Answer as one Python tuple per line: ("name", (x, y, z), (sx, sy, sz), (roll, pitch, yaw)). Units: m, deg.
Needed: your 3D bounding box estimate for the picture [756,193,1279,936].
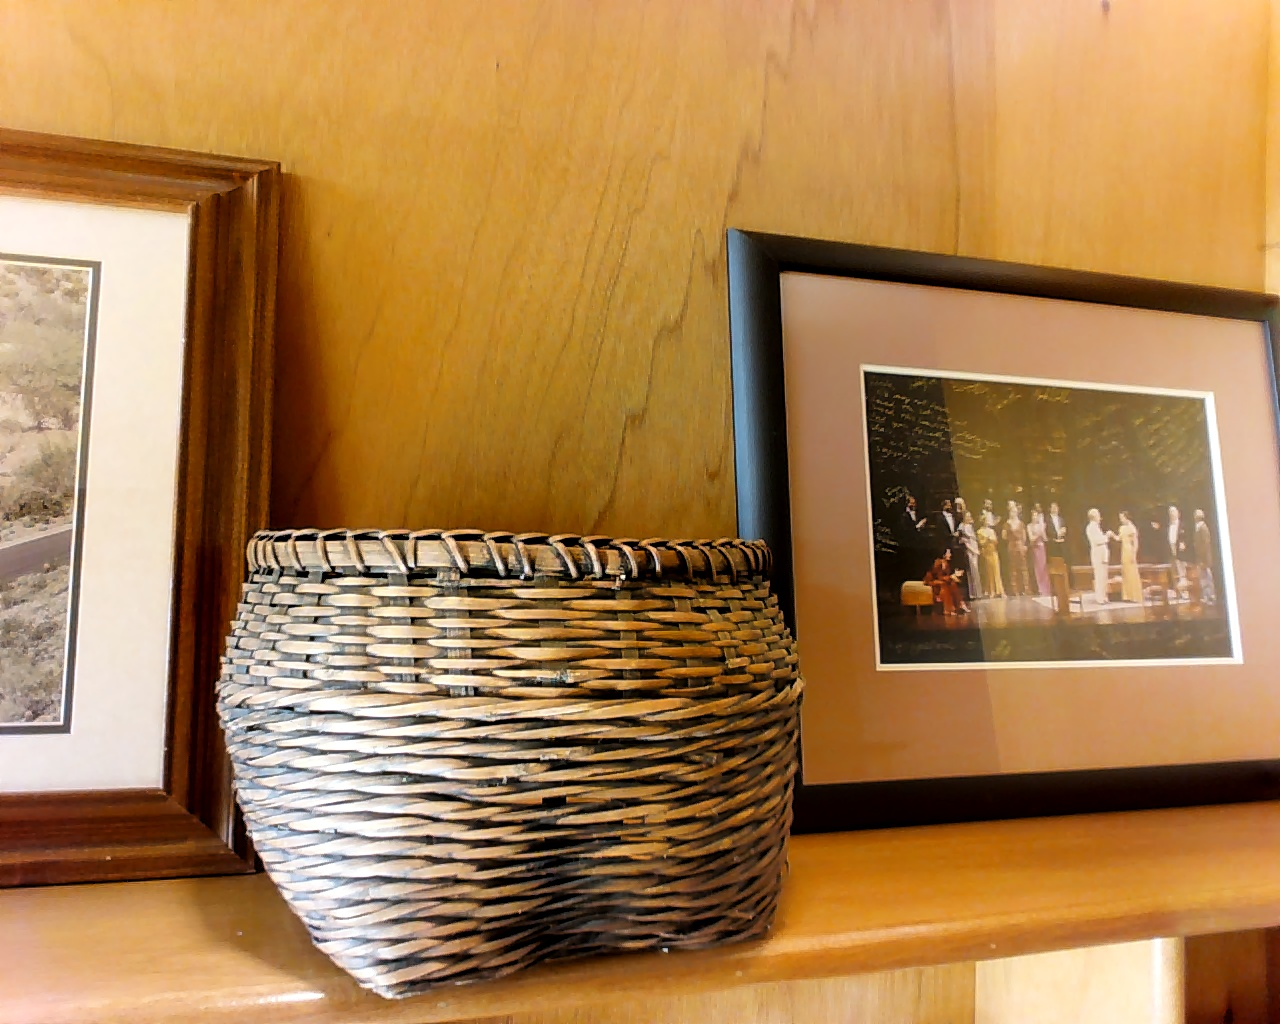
("picture", (0.360, 0.040, 0.840), (0.540, 0.470, 0.120), (2, -2, -23))
